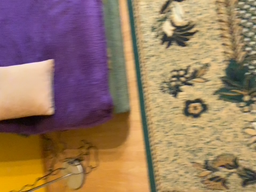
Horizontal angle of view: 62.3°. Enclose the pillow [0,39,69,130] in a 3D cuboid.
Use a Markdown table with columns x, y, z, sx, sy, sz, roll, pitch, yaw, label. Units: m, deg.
| x | y | z | sx | sy | sz | roll | pitch | yaw | label |
| --- | --- | --- | --- | --- | --- | --- | --- | --- | --- |
| -0.570 | -0.060 | 1.140 | 0.220 | 0.290 | 0.360 | -12 | 115 | 31 | pillow |
